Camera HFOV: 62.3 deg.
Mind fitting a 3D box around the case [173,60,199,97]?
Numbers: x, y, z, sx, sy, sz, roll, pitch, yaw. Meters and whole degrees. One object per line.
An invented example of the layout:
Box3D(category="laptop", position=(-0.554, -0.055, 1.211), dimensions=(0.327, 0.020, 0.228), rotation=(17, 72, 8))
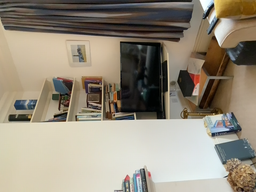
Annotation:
Box3D(category="case", position=(0.780, -0.250, 2.900), dimensions=(0.510, 0.170, 0.230), rotation=(-97, 8, -47))
